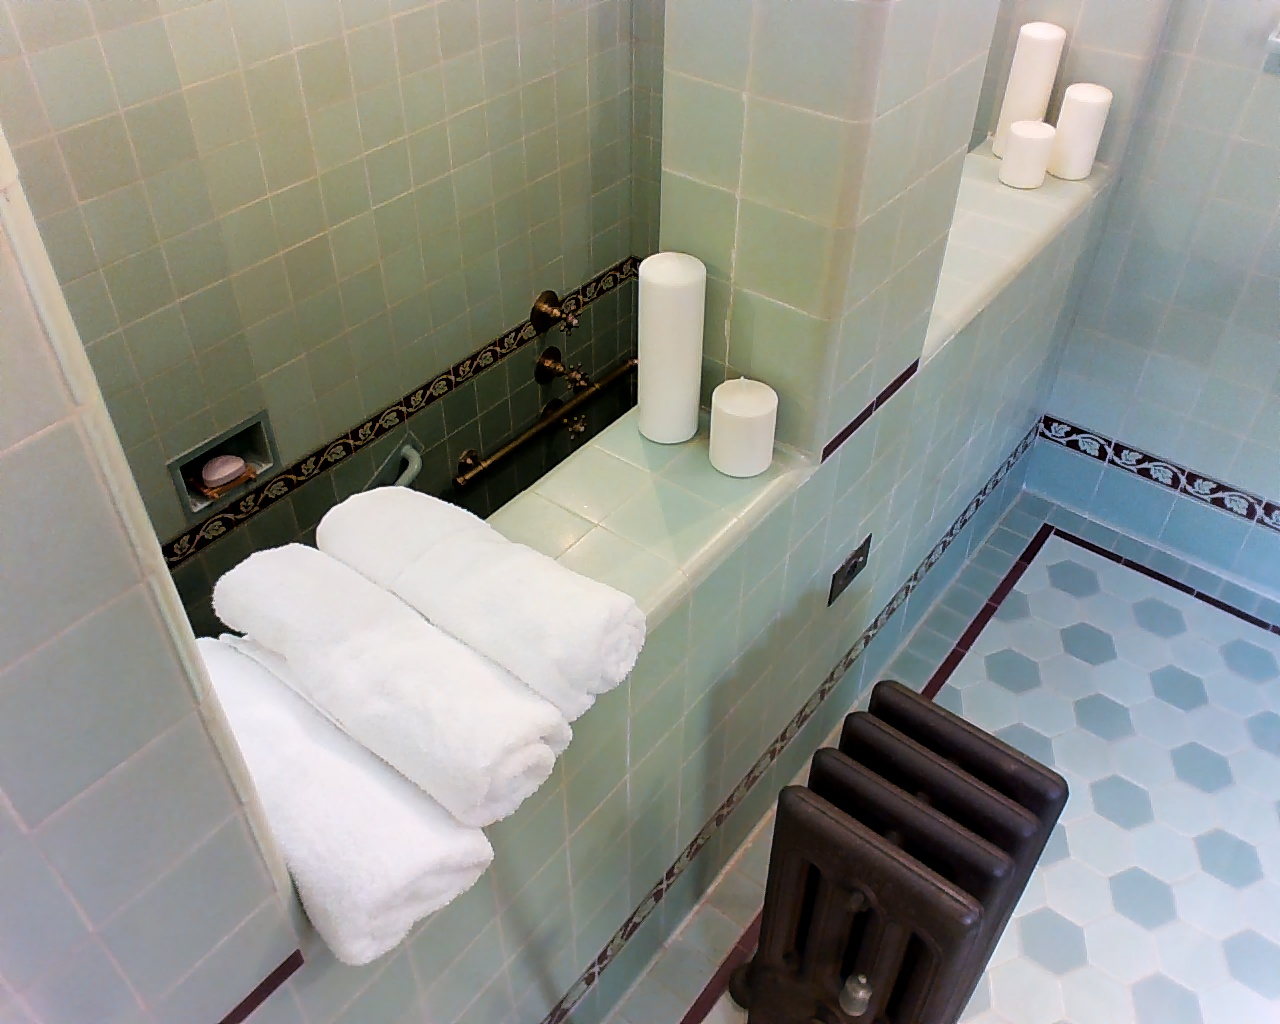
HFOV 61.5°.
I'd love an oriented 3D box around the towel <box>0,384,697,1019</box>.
[{"bbox_3d":[-0.250,0.130,1.010,0.430,0.180,0.430,28,49,26],"label":"towel"}]
